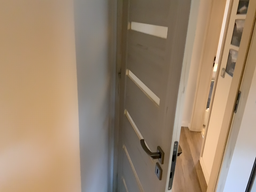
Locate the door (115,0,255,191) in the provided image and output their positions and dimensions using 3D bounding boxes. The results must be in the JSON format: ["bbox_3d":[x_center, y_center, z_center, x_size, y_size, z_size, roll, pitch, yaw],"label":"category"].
[{"bbox_3d":[0.120,0.100,1.180,0.250,2.080,0.990,1,21,-7],"label":"door"}]
